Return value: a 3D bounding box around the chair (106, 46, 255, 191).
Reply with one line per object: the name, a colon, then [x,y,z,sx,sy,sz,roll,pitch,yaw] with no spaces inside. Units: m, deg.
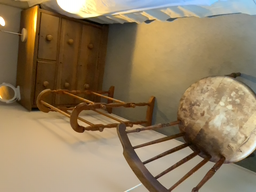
chair: [0.410,0.130,1.070,0.460,0.810,0.490,41,118,38]
